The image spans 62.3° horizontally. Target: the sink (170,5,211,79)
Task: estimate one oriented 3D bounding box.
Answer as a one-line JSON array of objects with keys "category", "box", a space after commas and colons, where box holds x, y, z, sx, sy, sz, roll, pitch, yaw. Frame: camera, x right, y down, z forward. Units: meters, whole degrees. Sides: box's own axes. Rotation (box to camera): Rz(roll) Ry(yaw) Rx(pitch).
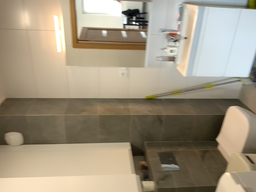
[{"category": "sink", "box": [0.560, -0.510, 2.000, 0.360, 0.150, 0.610, -103, 15, -63]}]
